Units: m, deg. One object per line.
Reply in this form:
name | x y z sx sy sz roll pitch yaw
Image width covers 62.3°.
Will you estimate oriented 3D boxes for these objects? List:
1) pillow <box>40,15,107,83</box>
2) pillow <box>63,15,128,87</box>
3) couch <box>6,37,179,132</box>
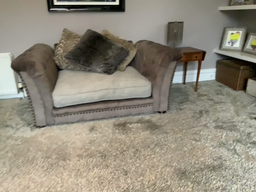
pillow | -0.660 -0.570 2.620 0.550 0.550 0.280 -49 25 13
pillow | -0.340 -0.500 2.450 0.260 0.580 0.560 12 73 34
couch | -0.370 -0.250 2.520 1.560 0.730 1.020 -6 21 -13
